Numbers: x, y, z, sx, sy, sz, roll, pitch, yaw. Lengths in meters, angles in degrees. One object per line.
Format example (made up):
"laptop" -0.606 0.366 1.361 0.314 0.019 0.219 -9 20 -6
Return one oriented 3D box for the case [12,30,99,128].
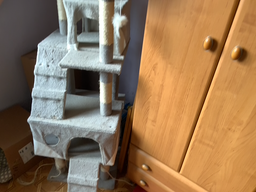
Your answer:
"case" -0.560 -0.180 1.860 0.230 0.600 0.690 23 38 23
